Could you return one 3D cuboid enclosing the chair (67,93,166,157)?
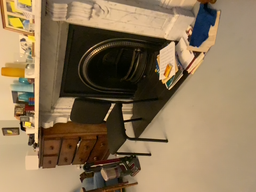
[{"bbox_3d":[-0.150,0.300,2.240,0.440,0.890,0.480,123,142,-51],"label":"chair"}]
